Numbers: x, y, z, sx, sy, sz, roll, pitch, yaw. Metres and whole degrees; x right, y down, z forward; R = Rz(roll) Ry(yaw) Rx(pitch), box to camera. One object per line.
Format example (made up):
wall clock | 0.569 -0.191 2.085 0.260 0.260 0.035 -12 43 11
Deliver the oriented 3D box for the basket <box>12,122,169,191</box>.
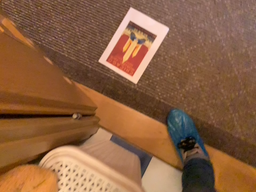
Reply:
basket | -0.120 0.350 0.700 0.310 0.560 0.400 33 88 6
